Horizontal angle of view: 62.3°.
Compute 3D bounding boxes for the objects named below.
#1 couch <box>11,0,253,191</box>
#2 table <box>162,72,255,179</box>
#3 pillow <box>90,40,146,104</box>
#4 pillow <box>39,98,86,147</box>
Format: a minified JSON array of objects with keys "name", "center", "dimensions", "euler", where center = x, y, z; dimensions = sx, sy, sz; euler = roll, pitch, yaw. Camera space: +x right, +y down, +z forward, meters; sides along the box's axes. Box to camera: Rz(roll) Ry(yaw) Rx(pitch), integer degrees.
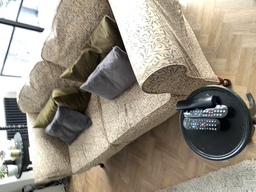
[{"name":"couch","center":[-0.270,-0.050,1.750],"dimensions":[1.860,0.810,0.980],"euler":[-43,57,39]},{"name":"table","center":[0.510,0.130,0.990],"dimensions":[0.300,0.590,0.300],"euler":[-43,57,39]},{"name":"pillow","center":[-0.090,-0.140,1.410],"dimensions":[0.490,0.250,0.120],"euler":[116,138,-56]},{"name":"pillow","center":[-0.570,0.250,1.880],"dimensions":[0.540,0.320,0.170],"euler":[114,139,-57]}]
